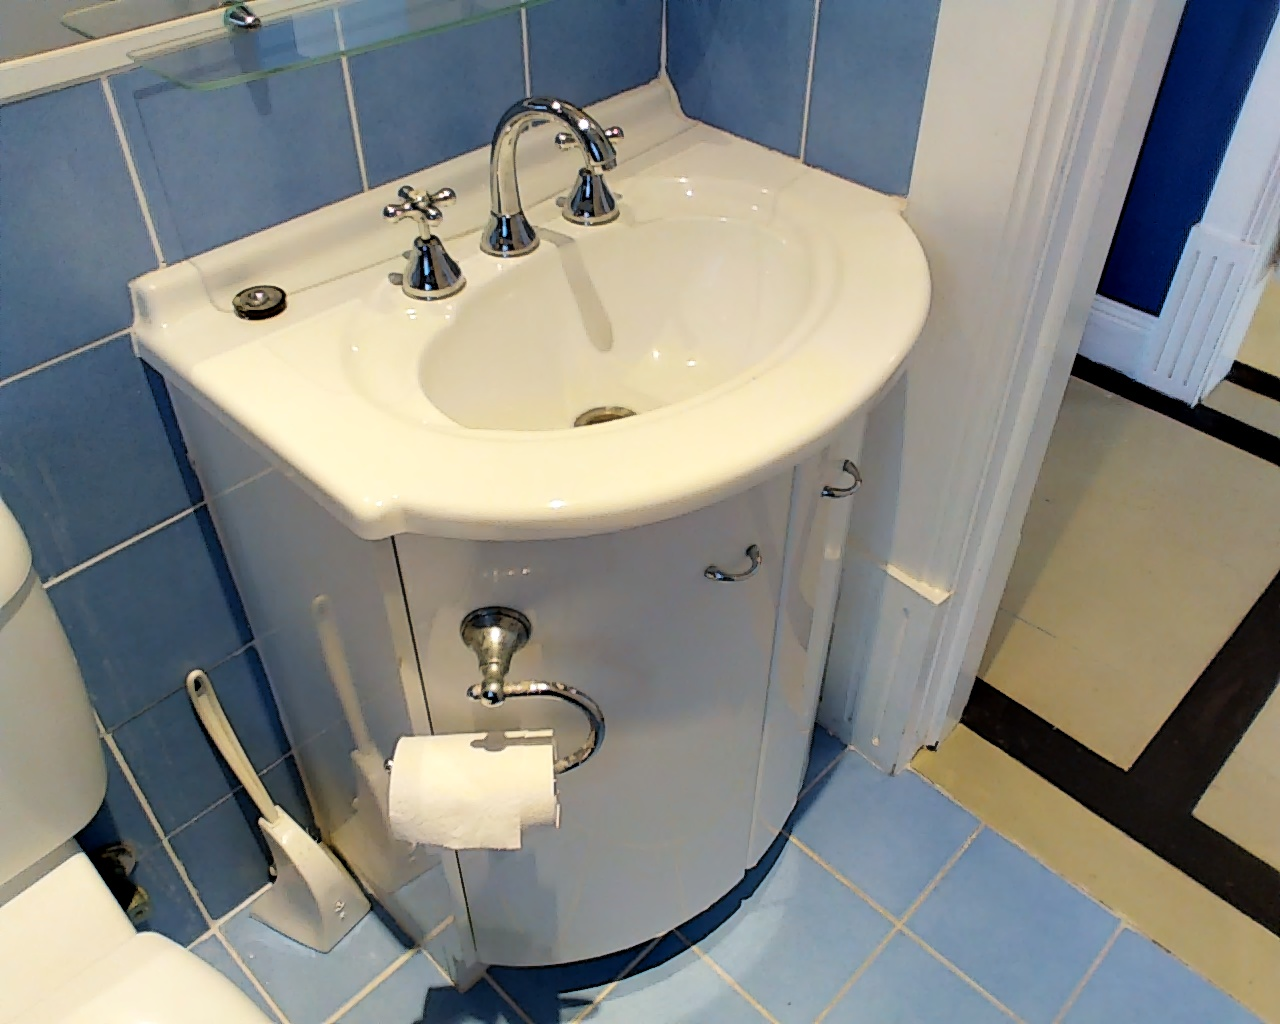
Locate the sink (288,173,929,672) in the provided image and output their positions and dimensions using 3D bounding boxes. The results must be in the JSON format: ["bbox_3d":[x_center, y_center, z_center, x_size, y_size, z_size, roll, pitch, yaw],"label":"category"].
[{"bbox_3d":[-0.010,-0.120,0.990,0.290,0.160,0.500,32,50,32],"label":"sink"}]

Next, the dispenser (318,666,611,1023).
[{"bbox_3d":[-0.140,0.400,1.000,0.160,0.520,0.150,32,50,32],"label":"dispenser"}]
